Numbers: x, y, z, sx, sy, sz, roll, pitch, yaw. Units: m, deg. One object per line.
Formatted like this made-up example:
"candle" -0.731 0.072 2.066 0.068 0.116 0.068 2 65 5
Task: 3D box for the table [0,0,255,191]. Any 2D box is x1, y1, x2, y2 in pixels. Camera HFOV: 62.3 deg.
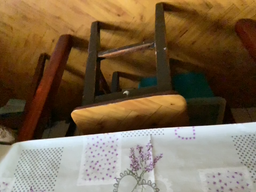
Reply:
"table" 0.120 0.160 0.830 1.030 0.770 0.640 -5 137 6

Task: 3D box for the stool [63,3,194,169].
"stool" 0.030 -0.050 0.790 0.320 0.500 0.320 -8 136 10
